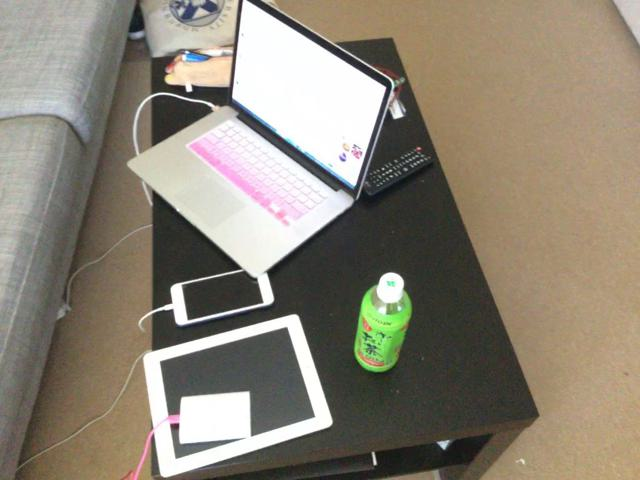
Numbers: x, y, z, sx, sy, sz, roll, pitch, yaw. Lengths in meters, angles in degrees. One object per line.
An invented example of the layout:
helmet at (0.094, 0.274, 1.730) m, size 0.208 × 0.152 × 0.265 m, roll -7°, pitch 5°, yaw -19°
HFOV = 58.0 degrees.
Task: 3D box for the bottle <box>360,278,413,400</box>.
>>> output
bottle at (0.080, 0.130, 0.730) m, size 0.050 × 0.170 × 0.080 m, roll -1°, pitch 52°, yaw 1°

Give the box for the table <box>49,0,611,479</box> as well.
table at (-0.070, 0.070, 1.150) m, size 0.650 × 0.550 × 0.950 m, roll -11°, pitch 53°, yaw -6°
